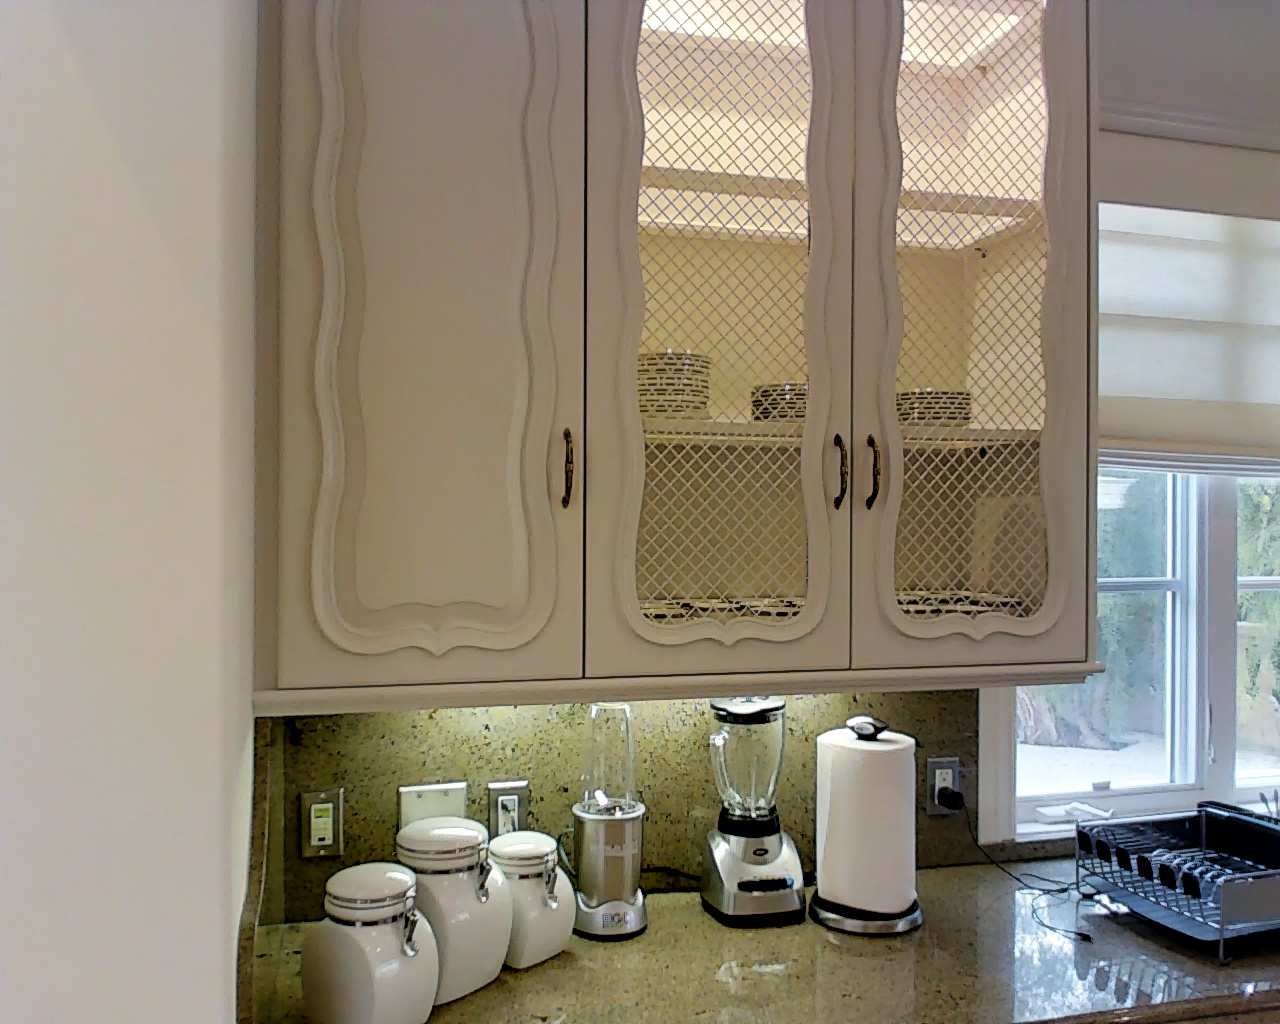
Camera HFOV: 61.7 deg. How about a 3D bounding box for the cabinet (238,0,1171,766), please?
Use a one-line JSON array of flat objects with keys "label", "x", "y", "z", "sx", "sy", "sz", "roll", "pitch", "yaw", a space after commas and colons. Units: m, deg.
[{"label": "cabinet", "x": 0.110, "y": -0.500, "z": 1.810, "sx": 1.430, "sy": 1.660, "sz": 0.500, "roll": 0, "pitch": 0, "yaw": -14}]
